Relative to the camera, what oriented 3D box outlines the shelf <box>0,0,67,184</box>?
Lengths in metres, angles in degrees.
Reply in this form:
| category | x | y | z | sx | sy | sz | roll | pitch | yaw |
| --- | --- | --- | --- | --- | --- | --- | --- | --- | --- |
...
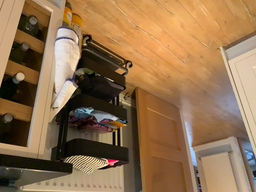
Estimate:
| category | x | y | z | sx | sy | sz | roll | pitch | yaw |
| --- | --- | --- | --- | --- | --- | --- | --- | --- | --- |
| shelf | -0.620 | -0.080 | 1.040 | 0.660 | 0.920 | 0.250 | -27 | 144 | 37 |

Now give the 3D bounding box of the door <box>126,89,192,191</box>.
| category | x | y | z | sx | sy | sz | roll | pitch | yaw |
| --- | --- | --- | --- | --- | --- | --- | --- | --- | --- |
| door | 0.330 | 0.930 | 1.810 | 0.140 | 1.950 | 0.730 | -26 | 145 | 36 |
